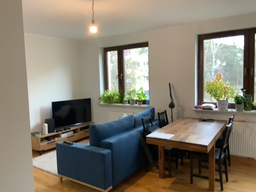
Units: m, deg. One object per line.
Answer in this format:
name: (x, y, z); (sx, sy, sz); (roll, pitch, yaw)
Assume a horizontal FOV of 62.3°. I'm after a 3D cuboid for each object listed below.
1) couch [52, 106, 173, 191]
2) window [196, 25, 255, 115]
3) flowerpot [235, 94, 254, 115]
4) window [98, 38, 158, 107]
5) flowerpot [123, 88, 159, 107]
couch: (-0.080, 0.800, 3.790); (0.990, 0.910, 2.230); (2, 6, 33)
window: (2.040, -0.450, 3.850); (1.420, 1.480, 0.510); (2, 6, 36)
flowerpot: (2.110, 0.140, 3.840); (0.270, 0.340, 0.290); (2, 6, 32)
window: (-0.040, -0.550, 5.240); (1.570, 1.530, 0.230); (2, 6, 32)
flowerpot: (0.320, 0.020, 5.160); (0.730, 0.400, 0.460); (2, 6, 34)
